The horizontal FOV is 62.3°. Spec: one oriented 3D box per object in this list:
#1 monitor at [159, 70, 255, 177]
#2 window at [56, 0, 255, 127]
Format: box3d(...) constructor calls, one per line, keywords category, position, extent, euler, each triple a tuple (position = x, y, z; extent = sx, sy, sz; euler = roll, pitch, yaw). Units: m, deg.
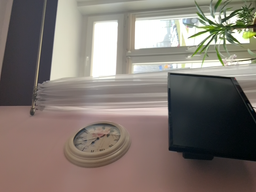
box3d(category="monitor", position=(0.430, 0.080, 1.160), extent=(0.780, 0.450, 0.050), euler=(-86, -10, -56))
box3d(category="window", position=(0.380, -0.390, 2.350), extent=(0.600, 2.120, 1.390), euler=(42, -132, -75))
